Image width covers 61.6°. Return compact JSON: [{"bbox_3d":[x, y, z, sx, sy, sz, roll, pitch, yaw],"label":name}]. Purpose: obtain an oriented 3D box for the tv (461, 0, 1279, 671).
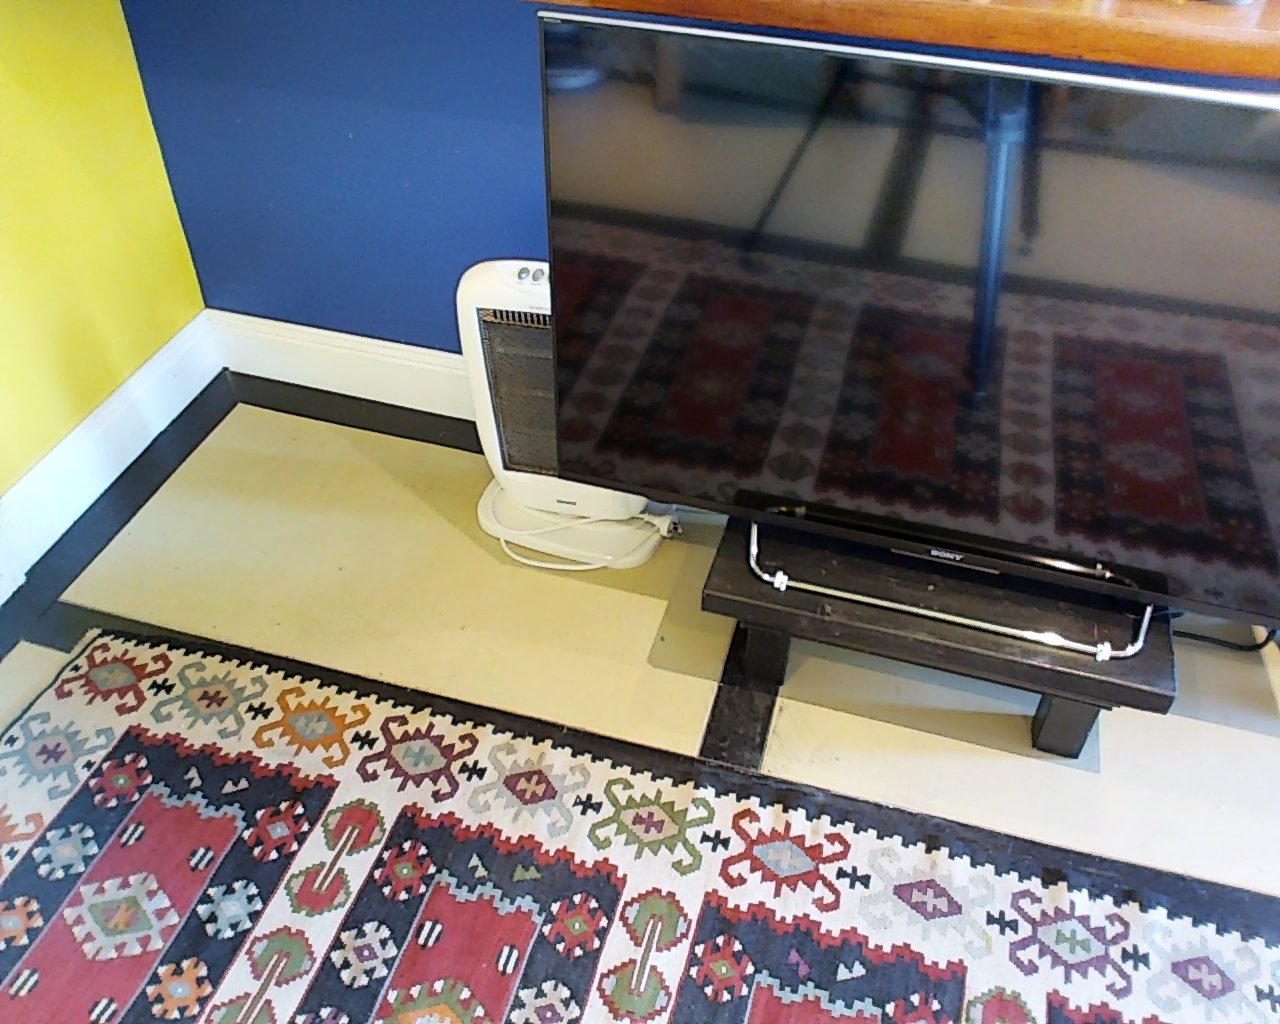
[{"bbox_3d":[0.420,-0.180,1.270,1.230,0.680,0.140,11,42,11],"label":"tv"}]
